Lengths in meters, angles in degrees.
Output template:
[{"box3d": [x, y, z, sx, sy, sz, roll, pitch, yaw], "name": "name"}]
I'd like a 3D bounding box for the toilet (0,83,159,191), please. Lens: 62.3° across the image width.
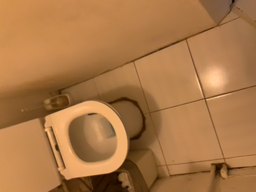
[{"box3d": [-0.340, 0.250, 1.110, 0.680, 0.850, 0.360, -19, 90, 29], "name": "toilet"}]
